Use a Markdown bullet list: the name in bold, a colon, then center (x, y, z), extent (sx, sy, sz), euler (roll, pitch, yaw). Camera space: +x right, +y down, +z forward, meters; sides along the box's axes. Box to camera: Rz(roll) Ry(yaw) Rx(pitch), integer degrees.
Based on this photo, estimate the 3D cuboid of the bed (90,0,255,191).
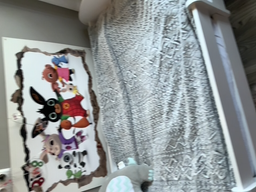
- **bed**: center (0.300, 0.090, 1.280), extent (0.880, 0.450, 1.730), euler (-24, 72, 49)
